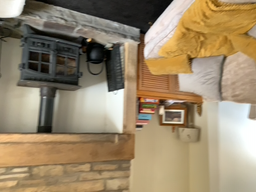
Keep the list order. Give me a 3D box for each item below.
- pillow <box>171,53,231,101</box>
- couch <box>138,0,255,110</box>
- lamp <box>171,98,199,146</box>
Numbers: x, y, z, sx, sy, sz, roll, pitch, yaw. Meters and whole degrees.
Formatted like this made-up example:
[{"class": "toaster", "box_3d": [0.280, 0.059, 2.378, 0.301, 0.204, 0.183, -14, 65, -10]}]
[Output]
[{"class": "pillow", "box_3d": [0.740, -0.180, 2.180, 0.200, 0.390, 0.470, -23, -171, -40]}, {"class": "couch", "box_3d": [0.850, -0.420, 1.730, 1.060, 0.940, 1.750, 3, 172, -13]}, {"class": "lamp", "box_3d": [0.840, 0.380, 3.150, 0.310, 0.670, 0.290, 3, 173, -9]}]
